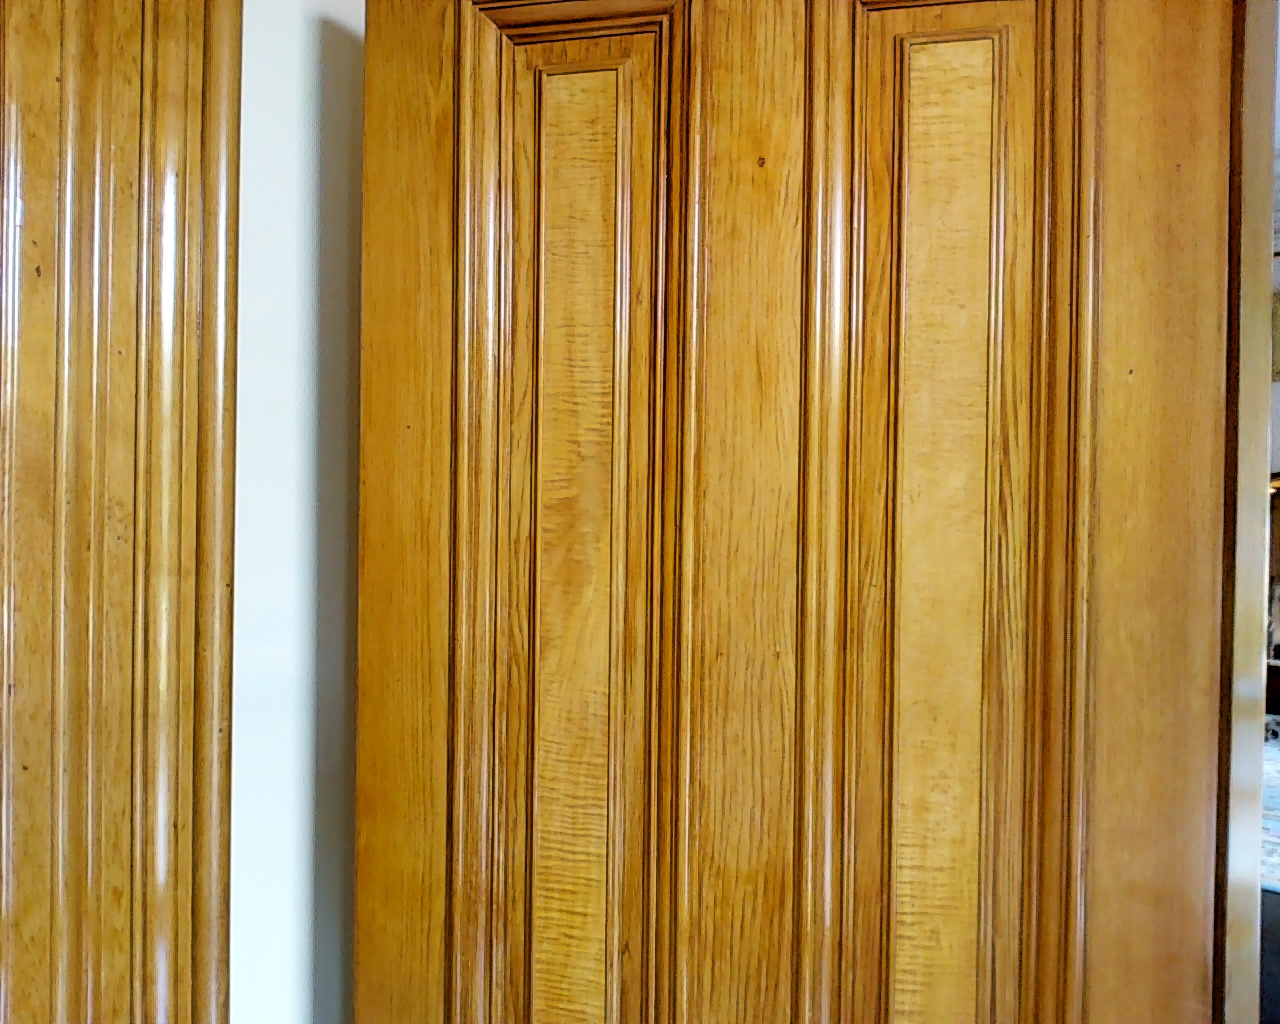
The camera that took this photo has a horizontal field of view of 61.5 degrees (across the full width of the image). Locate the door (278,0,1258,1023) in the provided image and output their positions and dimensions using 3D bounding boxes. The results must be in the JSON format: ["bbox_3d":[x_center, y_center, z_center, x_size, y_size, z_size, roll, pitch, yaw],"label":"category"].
[{"bbox_3d":[0.080,0.370,1.150,1.010,2.310,0.060,1,0,14],"label":"door"}]
